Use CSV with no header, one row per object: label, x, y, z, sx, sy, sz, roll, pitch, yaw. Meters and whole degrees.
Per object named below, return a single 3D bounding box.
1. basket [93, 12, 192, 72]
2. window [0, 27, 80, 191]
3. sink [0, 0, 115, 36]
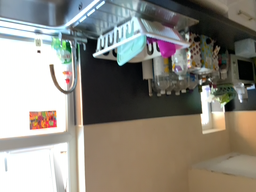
basket,0.070,-0.270,1.210,0.390,0.180,0.400,0,176,-36
window,-0.680,0.300,1.240,0.710,1.330,0.250,0,176,-35
sink,-0.360,-0.450,0.850,0.450,0.190,0.510,-1,176,-38
